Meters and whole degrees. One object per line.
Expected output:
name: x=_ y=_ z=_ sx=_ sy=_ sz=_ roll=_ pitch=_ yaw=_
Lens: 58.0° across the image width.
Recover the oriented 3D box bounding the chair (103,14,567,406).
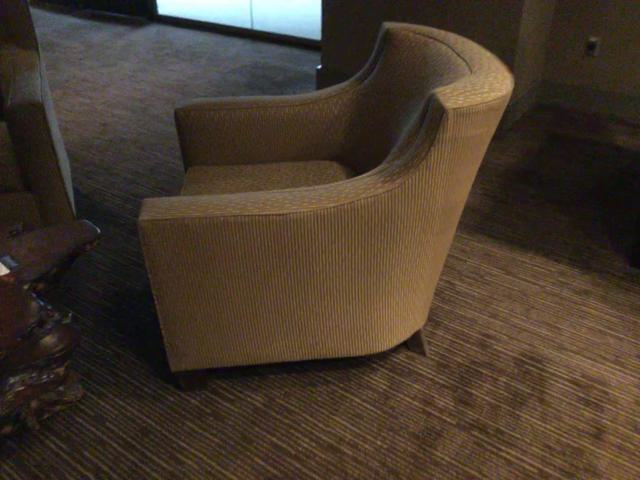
chair: x=-0.010 y=-0.160 z=1.810 sx=0.980 sy=0.880 sz=0.890 roll=-2 pitch=31 yaw=-6
